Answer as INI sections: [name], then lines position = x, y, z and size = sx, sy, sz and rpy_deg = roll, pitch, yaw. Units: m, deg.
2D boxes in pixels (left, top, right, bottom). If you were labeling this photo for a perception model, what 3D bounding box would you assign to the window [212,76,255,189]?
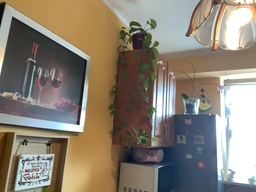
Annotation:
[window]
position = 1.330, 0.360, 2.220
size = 0.830, 1.150, 0.110
rpy_deg = -1, -12, 27
